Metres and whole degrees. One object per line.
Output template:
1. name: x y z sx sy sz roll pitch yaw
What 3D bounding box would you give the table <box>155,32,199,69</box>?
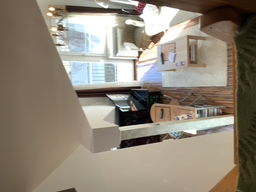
1. table: 0.970 -0.870 4.280 0.850 0.400 0.590 4 96 62
